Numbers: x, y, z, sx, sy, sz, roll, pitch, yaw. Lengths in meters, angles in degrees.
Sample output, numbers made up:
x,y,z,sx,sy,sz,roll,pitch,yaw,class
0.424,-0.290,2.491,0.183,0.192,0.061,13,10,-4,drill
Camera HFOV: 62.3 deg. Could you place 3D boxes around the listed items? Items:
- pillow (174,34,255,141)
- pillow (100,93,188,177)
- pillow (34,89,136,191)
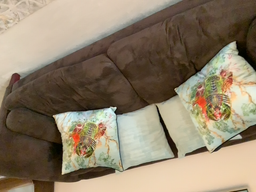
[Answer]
x,y,z,sx,sy,sz,roll,pitch,yaw,class
0.620,-0.020,1.370,0.320,0.460,0.520,4,148,-21,pillow
0.110,0.310,1.870,0.550,0.550,0.260,-12,142,-23,pillow
-0.360,0.380,1.820,0.600,0.560,0.390,-29,143,-9,pillow
